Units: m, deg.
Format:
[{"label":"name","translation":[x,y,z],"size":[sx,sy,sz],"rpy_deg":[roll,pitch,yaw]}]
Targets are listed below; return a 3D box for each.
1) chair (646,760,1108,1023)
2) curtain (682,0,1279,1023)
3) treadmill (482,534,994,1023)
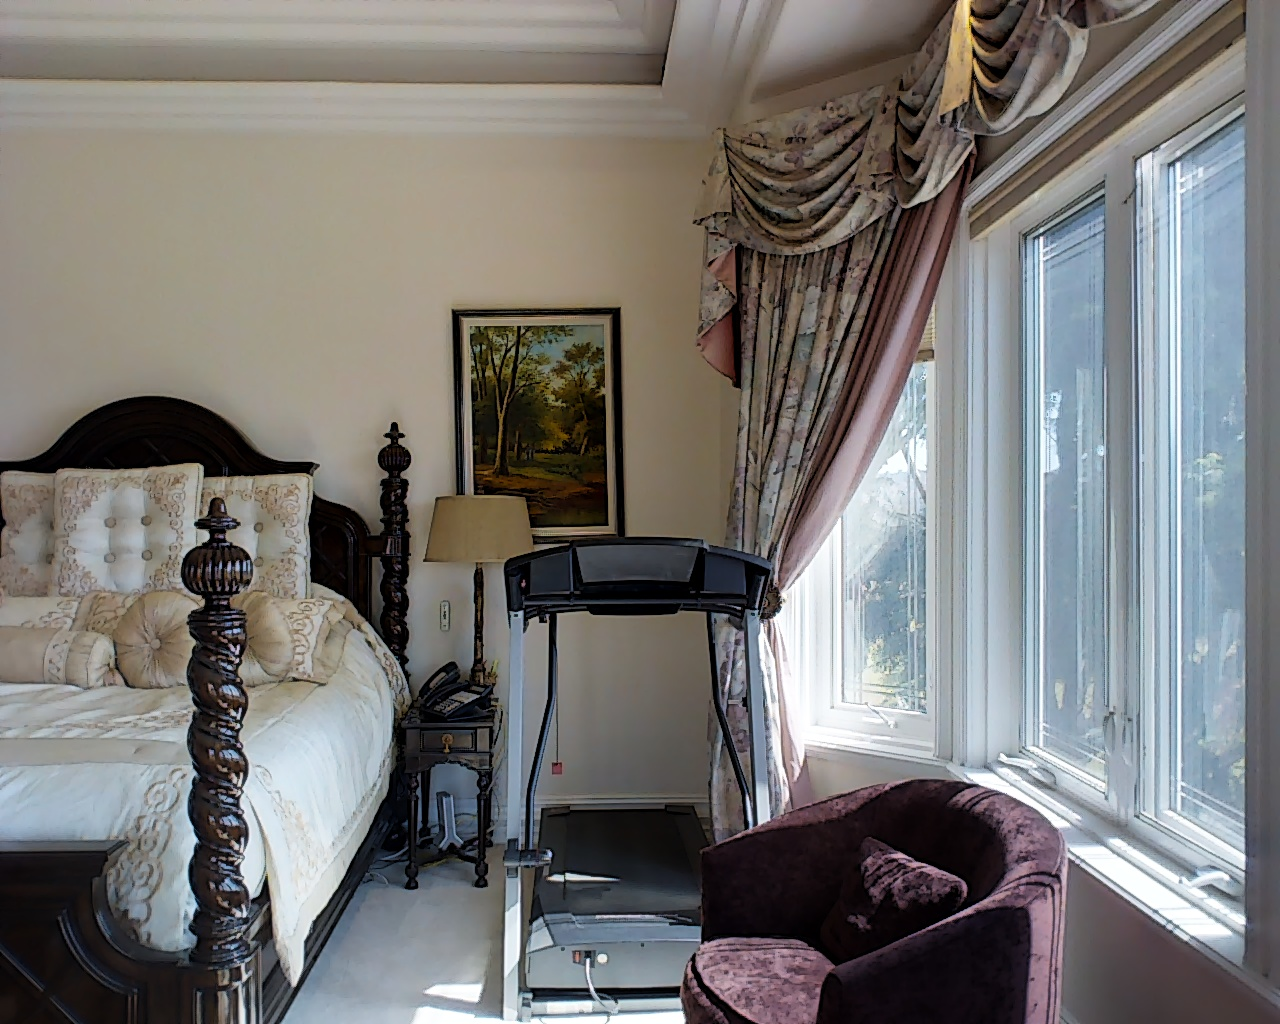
[{"label":"chair","translation":[0.470,1.060,2.450],"size":[0.760,0.760,0.840],"rpy_deg":[0,0,-11]},{"label":"curtain","translation":[0.700,-0.060,1.790],"size":[0.860,2.930,4.820],"rpy_deg":[-1,0,-2]},{"label":"treadmill","translation":[0.250,0.780,3.910],"size":[1.450,1.360,1.730],"rpy_deg":[-1,0,-2]}]
